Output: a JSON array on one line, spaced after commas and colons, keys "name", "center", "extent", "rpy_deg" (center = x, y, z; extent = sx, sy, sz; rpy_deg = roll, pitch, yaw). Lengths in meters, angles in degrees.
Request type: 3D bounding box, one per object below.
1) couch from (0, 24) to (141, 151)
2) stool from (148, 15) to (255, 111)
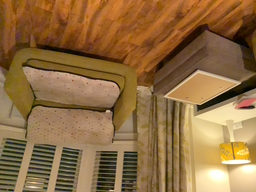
[{"name": "couch", "center": [-0.590, 0.020, 2.320], "extent": [1.200, 0.860, 0.970], "rpy_deg": [10, 154, -11]}, {"name": "stool", "center": [0.690, -0.240, 2.110], "extent": [0.620, 0.410, 0.880], "rpy_deg": [15, 153, -21]}]
